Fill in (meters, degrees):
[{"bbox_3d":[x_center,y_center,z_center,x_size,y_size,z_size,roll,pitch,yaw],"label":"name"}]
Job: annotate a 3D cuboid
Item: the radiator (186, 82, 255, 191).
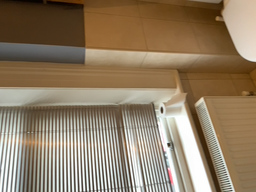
[{"bbox_3d":[0.660,0.360,1.080,0.110,0.520,0.920,118,149,-59],"label":"radiator"}]
